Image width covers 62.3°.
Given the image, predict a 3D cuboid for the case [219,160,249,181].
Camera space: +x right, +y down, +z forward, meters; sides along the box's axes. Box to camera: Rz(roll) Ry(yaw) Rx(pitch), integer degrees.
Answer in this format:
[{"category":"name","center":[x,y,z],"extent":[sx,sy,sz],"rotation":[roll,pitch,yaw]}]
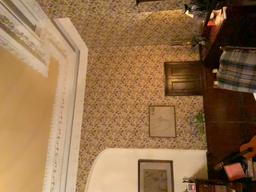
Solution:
[{"category":"case","center":[1.660,1.180,3.360],"extent":[0.400,0.290,0.280],"rotation":[69,-158,-70]}]
